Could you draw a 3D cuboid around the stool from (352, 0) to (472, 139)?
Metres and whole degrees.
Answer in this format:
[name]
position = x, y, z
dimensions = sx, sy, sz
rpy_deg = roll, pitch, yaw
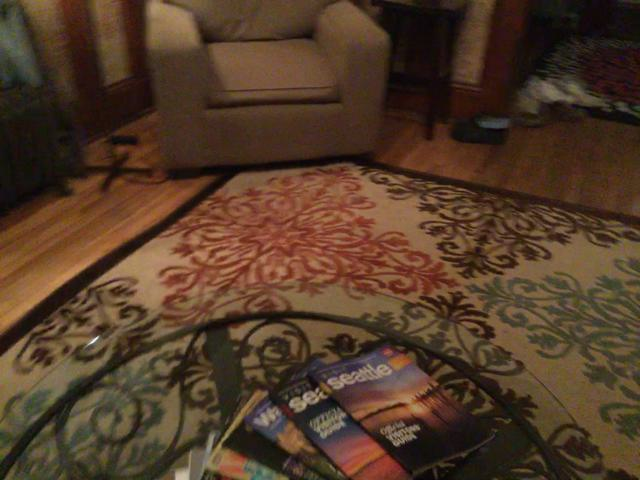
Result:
[stool]
position = 0.460, -0.920, 2.970
dimensions = 0.490, 0.650, 0.330
rpy_deg = 14, 35, 21

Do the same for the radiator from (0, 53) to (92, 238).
[radiator]
position = -1.390, -0.160, 1.870
dimensions = 0.270, 0.530, 1.350
rpy_deg = 14, 35, 21
